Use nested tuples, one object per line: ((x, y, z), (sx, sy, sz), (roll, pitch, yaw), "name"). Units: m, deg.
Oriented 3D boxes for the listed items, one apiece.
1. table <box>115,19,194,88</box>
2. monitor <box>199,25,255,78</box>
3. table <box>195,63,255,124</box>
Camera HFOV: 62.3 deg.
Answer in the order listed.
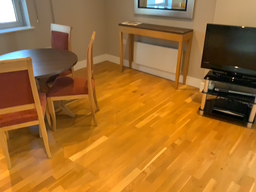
((0.370, -0.760, 3.580), (1.290, 0.870, 0.330), (21, 34, 35), "table")
((1.170, -0.490, 2.330), (0.700, 0.490, 0.030), (17, 32, 30), "monitor")
((1.200, -0.050, 2.580), (0.600, 0.530, 0.320), (18, 33, 31), "table")
